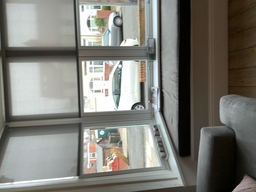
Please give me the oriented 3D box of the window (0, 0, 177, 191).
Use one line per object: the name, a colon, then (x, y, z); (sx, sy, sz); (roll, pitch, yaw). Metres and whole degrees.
window: (-0.500, -0.530, 2.540); (0.940, 1.900, 2.970); (-154, 63, -79)
